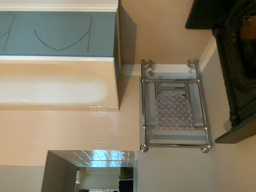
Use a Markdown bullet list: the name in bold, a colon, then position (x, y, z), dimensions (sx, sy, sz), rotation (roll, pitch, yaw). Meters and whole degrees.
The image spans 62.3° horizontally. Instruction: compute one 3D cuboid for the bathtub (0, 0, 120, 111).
- **bathtub**: position (-0.900, -0.280, 1.680), dimensions (1.650, 0.520, 0.840), rotation (1, 156, -1)
